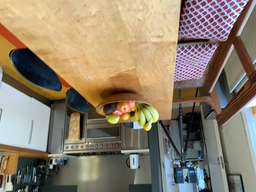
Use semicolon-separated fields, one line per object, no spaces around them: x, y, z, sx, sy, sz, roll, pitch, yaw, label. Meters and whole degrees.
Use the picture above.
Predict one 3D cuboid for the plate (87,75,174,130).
0.030;0.060;1.280;0.450;0.200;0.350;-5;160;8;plate
